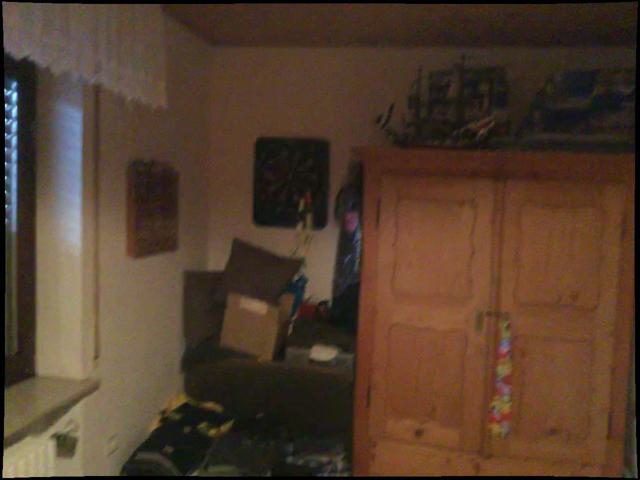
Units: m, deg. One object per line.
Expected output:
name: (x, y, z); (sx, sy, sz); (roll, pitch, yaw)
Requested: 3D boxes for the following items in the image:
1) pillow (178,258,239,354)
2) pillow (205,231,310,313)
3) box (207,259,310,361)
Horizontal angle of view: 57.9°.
pillow: (-0.629, 0.360, 3.300); (0.200, 0.460, 0.400); (3, 6, 11)
pillow: (-0.350, 0.170, 3.300); (0.510, 0.390, 0.340); (3, 6, 11)
box: (-0.340, 0.380, 3.290); (0.480, 0.470, 0.370); (3, 6, 11)
